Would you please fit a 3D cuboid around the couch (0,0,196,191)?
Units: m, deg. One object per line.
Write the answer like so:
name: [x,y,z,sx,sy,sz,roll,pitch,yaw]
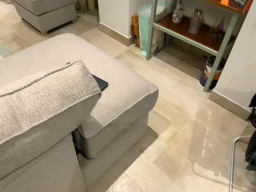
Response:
couch: [-0.480,0.020,1.170,0.990,0.930,1.180,34,56,26]
